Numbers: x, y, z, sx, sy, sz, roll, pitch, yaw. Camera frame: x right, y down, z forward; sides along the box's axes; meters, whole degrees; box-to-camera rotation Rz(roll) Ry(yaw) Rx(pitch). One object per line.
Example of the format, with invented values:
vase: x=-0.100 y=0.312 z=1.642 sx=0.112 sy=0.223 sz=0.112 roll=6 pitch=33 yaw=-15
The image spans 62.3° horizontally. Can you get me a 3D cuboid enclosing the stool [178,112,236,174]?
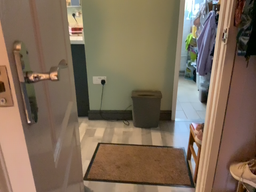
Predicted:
stool: x=0.600 y=0.360 z=1.690 sx=0.310 sy=0.340 sz=0.340 roll=1 pitch=21 yaw=3
